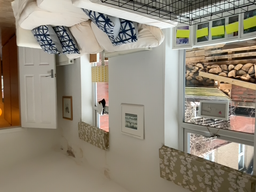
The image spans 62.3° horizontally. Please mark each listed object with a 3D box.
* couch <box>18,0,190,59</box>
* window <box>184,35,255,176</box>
[{"bbox_3d":[-0.430,-0.890,2.290,1.070,0.750,1.840,-3,-175,-36],"label":"couch"},{"bbox_3d":[0.960,0.070,2.080,0.110,1.210,0.880,-3,-175,-37],"label":"window"}]
